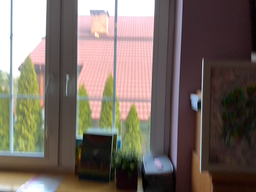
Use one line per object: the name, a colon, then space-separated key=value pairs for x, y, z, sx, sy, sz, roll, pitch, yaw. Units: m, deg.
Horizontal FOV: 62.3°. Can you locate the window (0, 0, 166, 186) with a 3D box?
window: x=-0.490 y=-0.150 z=1.730 sx=1.510 sy=1.590 sz=0.300 roll=2 pitch=3 yaw=3
